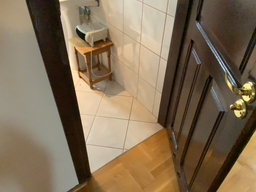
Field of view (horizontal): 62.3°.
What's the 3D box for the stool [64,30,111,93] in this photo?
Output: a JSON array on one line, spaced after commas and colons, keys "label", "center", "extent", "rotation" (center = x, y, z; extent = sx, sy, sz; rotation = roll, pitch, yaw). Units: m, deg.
[{"label": "stool", "center": [-0.390, -0.350, 2.140], "extent": [0.310, 0.460, 0.320], "rotation": [-26, 50, -28]}]
